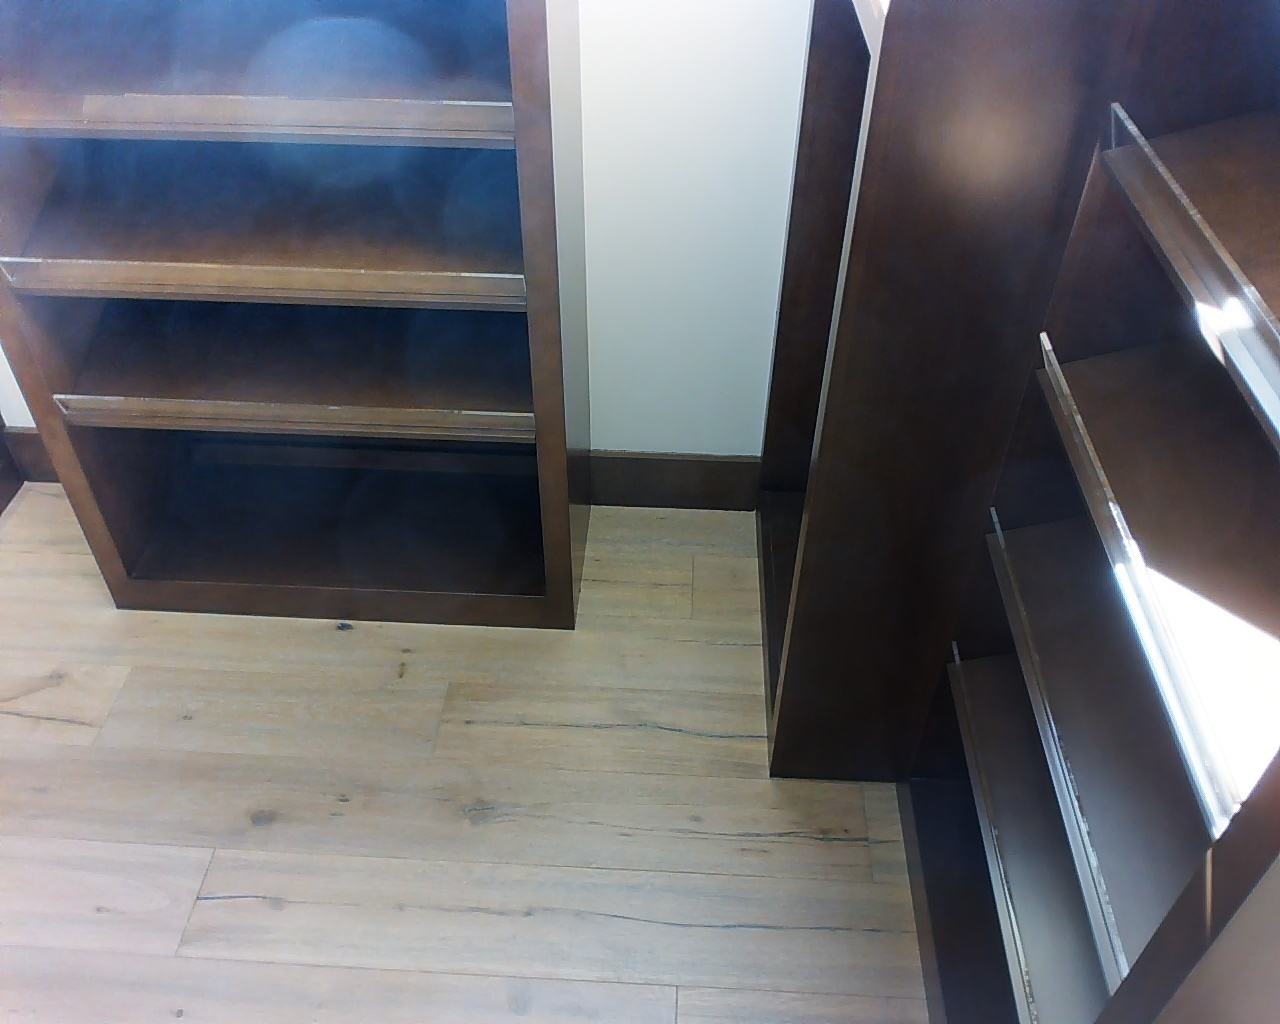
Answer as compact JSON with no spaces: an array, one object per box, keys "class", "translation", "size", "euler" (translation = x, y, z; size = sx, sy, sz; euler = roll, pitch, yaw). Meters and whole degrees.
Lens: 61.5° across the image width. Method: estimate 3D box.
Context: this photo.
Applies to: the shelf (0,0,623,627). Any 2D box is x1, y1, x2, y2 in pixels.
[{"class":"shelf","translation":[-0.520,-0.610,1.660],"size":[0.960,1.820,0.410],"euler":[2,42,2]}]
